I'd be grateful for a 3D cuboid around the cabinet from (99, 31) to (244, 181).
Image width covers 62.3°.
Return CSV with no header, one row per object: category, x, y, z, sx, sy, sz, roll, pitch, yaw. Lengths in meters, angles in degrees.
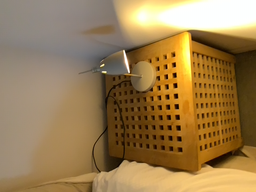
cabinet,0.220,0.050,1.110,0.530,0.490,0.530,-6,86,45
